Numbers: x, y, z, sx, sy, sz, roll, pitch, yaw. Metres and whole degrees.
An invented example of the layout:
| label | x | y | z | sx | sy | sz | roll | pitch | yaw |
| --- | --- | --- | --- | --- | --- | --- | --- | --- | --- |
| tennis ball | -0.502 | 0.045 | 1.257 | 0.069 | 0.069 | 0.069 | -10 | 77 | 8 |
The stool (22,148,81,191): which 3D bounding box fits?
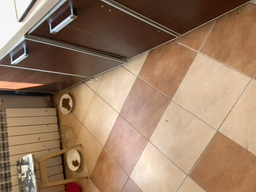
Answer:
| label | x | y | z | sx | sy | sz | roll | pitch | yaw |
| --- | --- | --- | --- | --- | --- | --- | --- | --- | --- |
| stool | -0.670 | 0.640 | 1.900 | 0.180 | 0.450 | 0.260 | -17 | 77 | 37 |
